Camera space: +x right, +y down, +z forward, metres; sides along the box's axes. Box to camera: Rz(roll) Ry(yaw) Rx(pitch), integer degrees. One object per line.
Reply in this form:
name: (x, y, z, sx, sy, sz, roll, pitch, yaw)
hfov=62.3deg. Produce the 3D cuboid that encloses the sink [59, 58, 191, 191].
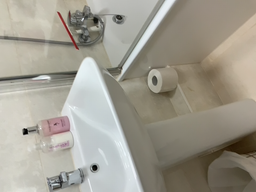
sink: (-0.040, 0.200, 0.720, 0.320, 0.210, 0.560, -49, 57, 53)

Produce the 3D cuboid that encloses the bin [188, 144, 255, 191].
bin: (0.530, 0.400, 0.970, 0.270, 0.320, 0.270, -42, 62, 55)
